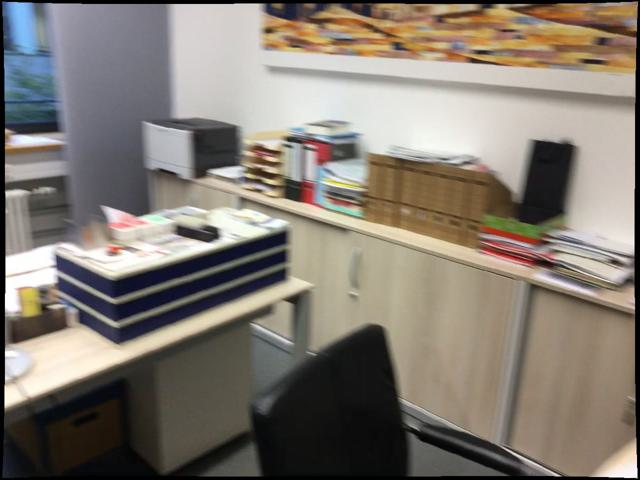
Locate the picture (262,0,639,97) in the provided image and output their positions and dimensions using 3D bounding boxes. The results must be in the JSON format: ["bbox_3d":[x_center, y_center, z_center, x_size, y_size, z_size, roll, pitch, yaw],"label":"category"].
[{"bbox_3d":[0.460,-1.091,2.570,1.889,0.701,0.080,18,21,36],"label":"picture"}]

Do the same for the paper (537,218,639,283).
[{"bbox_3d":[1.039,0.030,2.200,0.310,0.120,0.270,18,21,36],"label":"paper"}]

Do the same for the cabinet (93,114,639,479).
[{"bbox_3d":[0.200,0.150,2.790,3.428,1.081,0.770,18,21,36],"label":"cabinet"}]

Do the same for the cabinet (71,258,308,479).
[{"bbox_3d":[-0.470,0.490,2.210,0.420,0.611,0.750,18,21,36],"label":"cabinet"}]
